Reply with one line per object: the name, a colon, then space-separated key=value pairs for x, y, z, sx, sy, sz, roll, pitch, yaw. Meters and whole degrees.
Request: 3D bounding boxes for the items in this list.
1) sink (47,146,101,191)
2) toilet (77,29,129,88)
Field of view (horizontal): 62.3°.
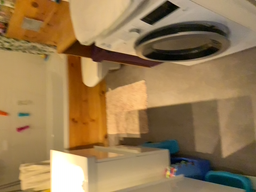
sink: x=-0.380 y=0.600 z=1.390 sx=0.630 sy=0.120 sz=0.490 roll=-13 pitch=77 yaw=53
toilet: x=-0.280 y=-0.380 z=2.320 sx=0.350 sy=0.440 sz=0.500 roll=-14 pitch=76 yaw=53
